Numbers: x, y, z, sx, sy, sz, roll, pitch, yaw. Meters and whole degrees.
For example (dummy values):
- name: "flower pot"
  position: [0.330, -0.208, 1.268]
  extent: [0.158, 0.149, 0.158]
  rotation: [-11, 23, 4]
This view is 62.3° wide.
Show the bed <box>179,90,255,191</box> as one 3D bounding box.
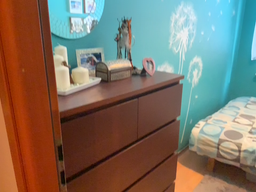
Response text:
- name: "bed"
  position: [1.910, 0.560, 2.260]
  extent: [2.090, 0.500, 1.660]
  rotation: [16, 25, 39]
